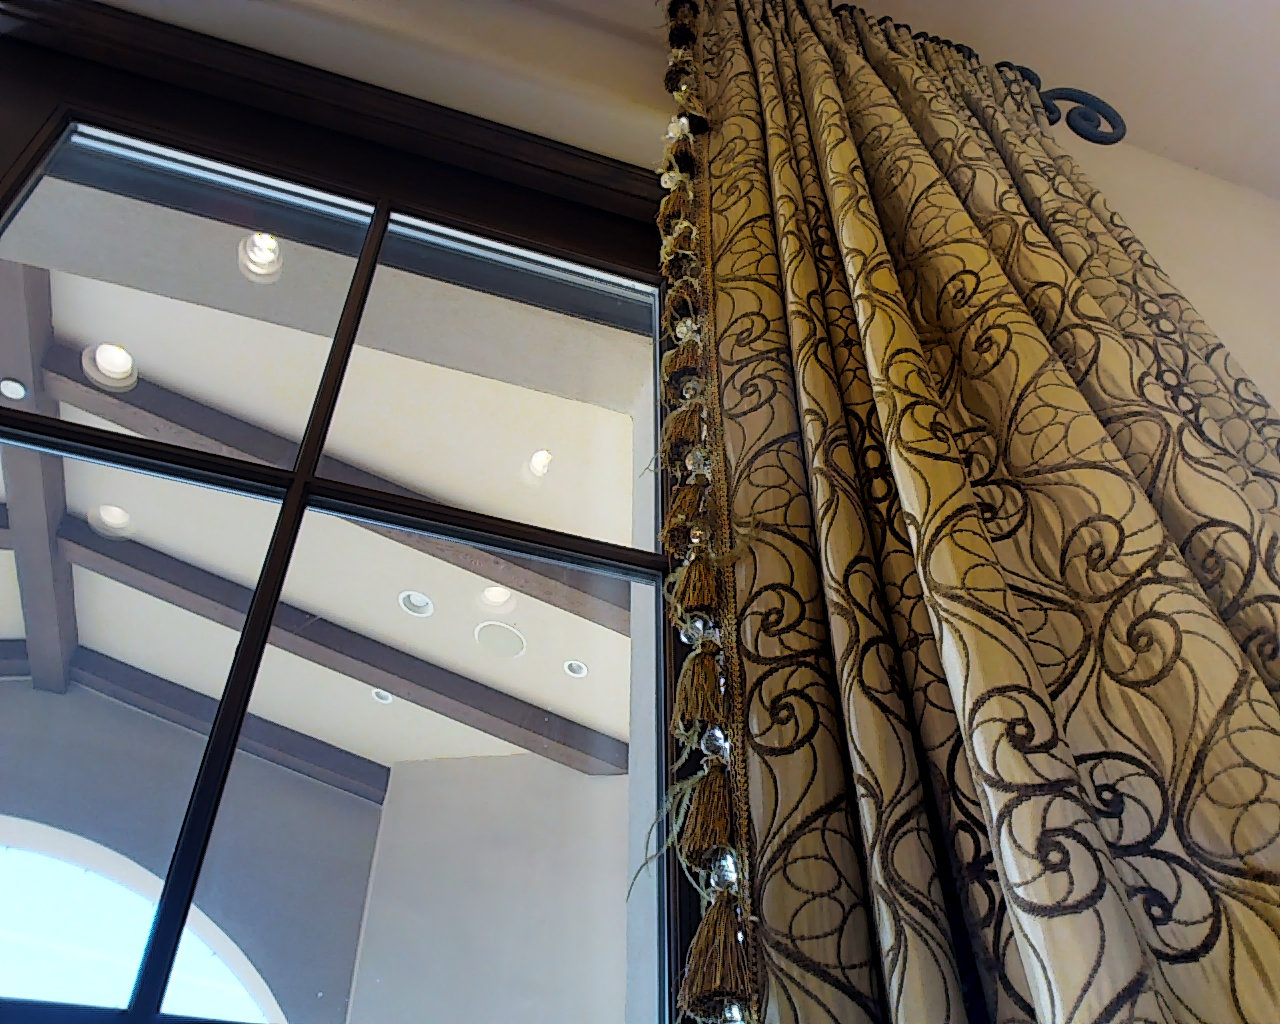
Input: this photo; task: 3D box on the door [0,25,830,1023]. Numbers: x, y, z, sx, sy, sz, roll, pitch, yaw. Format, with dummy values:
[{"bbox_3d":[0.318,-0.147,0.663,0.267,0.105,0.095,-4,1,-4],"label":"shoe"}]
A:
[{"bbox_3d":[-0.390,0.580,0.510,1.100,2.890,0.090,13,-44,-13],"label":"door"}]
